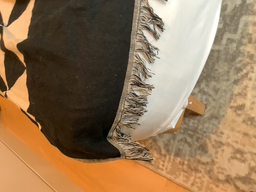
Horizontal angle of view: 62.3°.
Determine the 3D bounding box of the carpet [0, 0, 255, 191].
[{"bbox_3d":[-0.090,-0.580,1.230,2.350,0.040,1.990,20,95,36],"label":"carpet"}]
